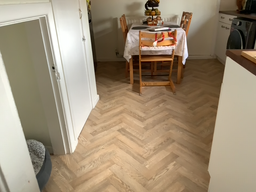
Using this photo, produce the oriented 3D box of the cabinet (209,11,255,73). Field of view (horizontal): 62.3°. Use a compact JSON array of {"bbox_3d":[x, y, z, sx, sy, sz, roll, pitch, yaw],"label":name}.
[{"bbox_3d":[1.850,-0.940,3.580,0.620,0.880,0.820,0,25,5],"label":"cabinet"}]
